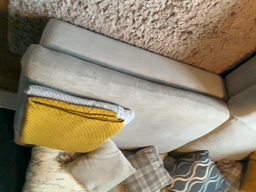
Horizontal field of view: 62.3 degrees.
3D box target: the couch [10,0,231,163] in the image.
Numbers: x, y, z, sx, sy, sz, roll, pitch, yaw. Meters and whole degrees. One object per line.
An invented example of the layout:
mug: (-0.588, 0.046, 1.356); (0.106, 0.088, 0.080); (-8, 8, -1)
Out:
couch: (-0.140, 0.090, 1.600); (1.210, 0.460, 1.050); (15, 147, -23)
